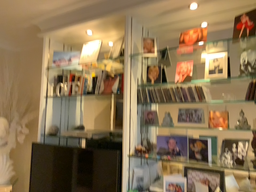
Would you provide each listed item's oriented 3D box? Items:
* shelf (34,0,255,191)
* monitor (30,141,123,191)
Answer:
[{"bbox_3d":[0.070,0.180,1.730,2.050,1.700,0.360,-2,-6,31],"label":"shelf"},{"bbox_3d":[-0.480,0.730,1.790,0.970,0.610,0.040,-2,-6,28],"label":"monitor"}]
